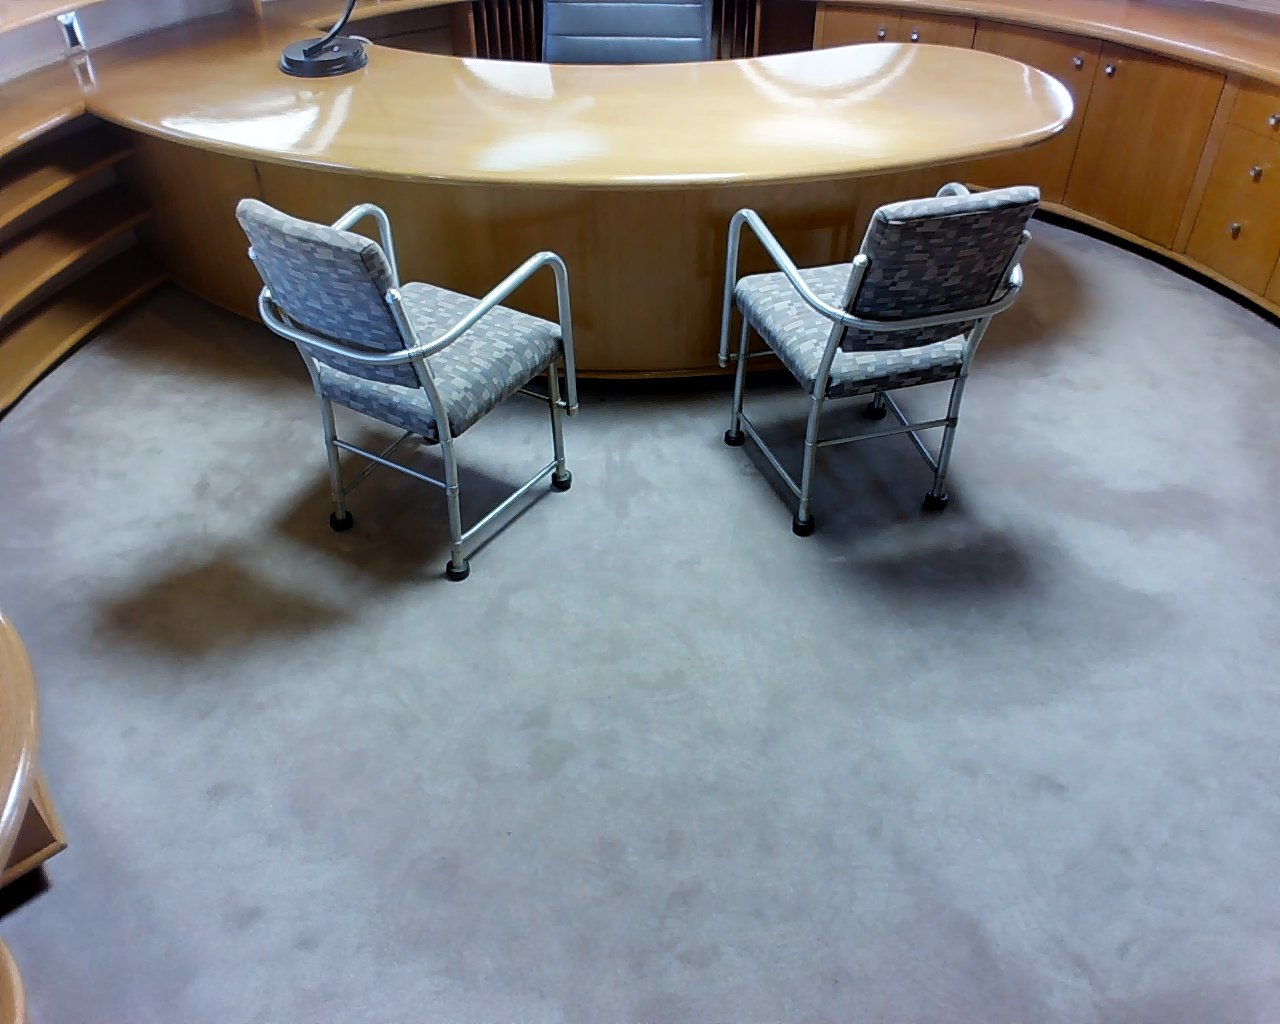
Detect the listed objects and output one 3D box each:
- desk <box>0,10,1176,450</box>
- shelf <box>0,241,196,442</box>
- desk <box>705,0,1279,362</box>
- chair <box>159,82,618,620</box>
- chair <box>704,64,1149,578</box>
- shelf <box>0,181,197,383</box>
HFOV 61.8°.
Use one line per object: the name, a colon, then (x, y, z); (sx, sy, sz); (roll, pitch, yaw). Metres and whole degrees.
desk: (-0.130, -0.910, 3.170); (2.749, 0.710, 1.270); (3, 40, 4)
shelf: (-1.690, -0.520, 3.170); (0.180, 0.100, 1.050); (8, 40, 10)
desk: (1.410, -1.300, 3.570); (2.490, 0.720, 0.740); (31, 49, 33)
chair: (-0.480, -0.370, 2.380); (0.610, 0.870, 0.630); (20, 44, 23)
chair: (0.560, -0.440, 2.440); (0.630, 0.880, 0.630); (-11, 41, -12)
shelf: (-1.670, -0.660, 3.040); (0.250, 0.130, 1.060); (8, 40, 10)
